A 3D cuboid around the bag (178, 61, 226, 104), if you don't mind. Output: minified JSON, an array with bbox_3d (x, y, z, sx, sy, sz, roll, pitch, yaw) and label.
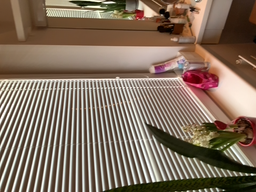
[{"bbox_3d":[0.440,-0.090,1.300,0.220,0.160,0.180,-111,23,-57],"label":"bag"}]

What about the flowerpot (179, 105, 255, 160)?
[{"bbox_3d":[0.420,0.150,0.920,0.160,0.330,0.140,-110,22,-55],"label":"flowerpot"}]
